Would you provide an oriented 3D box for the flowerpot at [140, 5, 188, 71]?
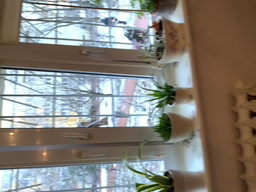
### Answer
[{"bbox_3d":[0.210,-0.350,1.310,0.170,0.210,0.340,132,137,-70],"label":"flowerpot"}]

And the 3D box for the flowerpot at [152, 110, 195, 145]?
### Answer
[{"bbox_3d":[0.240,0.180,1.170,0.190,0.150,0.170,134,135,-71],"label":"flowerpot"}]

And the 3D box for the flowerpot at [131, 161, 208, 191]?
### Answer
[{"bbox_3d":[0.200,0.450,1.080,0.230,0.310,0.200,133,136,-70],"label":"flowerpot"}]

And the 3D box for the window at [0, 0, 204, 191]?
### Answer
[{"bbox_3d":[-0.220,0.080,1.180,0.150,1.190,2.400,130,139,-69],"label":"window"}]
